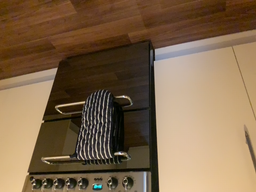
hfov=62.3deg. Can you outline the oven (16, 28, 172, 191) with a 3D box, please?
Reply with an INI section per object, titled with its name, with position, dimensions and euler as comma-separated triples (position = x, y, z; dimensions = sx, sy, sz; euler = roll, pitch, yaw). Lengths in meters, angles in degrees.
[oven]
position = -0.100, 0.150, 1.340
dimensions = 0.600, 0.760, 0.670
euler = -8, 145, 16
